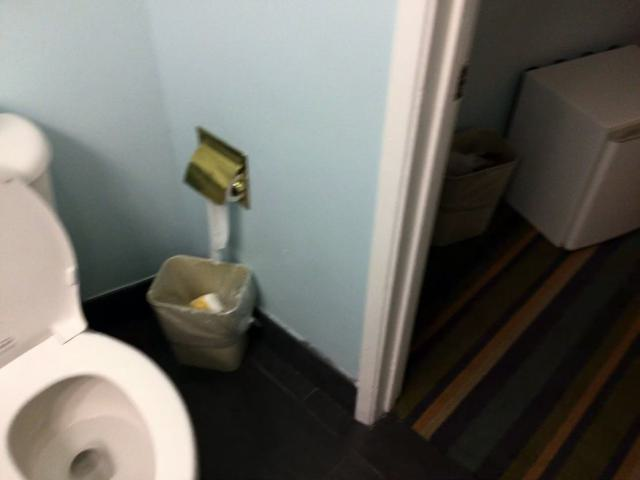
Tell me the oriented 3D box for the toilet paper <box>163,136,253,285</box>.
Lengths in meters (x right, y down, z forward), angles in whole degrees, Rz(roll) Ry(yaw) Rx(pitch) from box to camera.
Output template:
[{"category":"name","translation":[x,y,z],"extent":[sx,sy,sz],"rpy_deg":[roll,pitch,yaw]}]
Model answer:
[{"category":"toilet paper","translation":[-0.250,-0.060,1.330],"extent":[0.130,0.320,0.090],"rpy_deg":[32,54,32]}]

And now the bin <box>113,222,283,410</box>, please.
[{"category":"bin","translation":[-0.310,0.190,1.510],"extent":[0.340,0.280,0.230],"rpy_deg":[32,54,32]}]
